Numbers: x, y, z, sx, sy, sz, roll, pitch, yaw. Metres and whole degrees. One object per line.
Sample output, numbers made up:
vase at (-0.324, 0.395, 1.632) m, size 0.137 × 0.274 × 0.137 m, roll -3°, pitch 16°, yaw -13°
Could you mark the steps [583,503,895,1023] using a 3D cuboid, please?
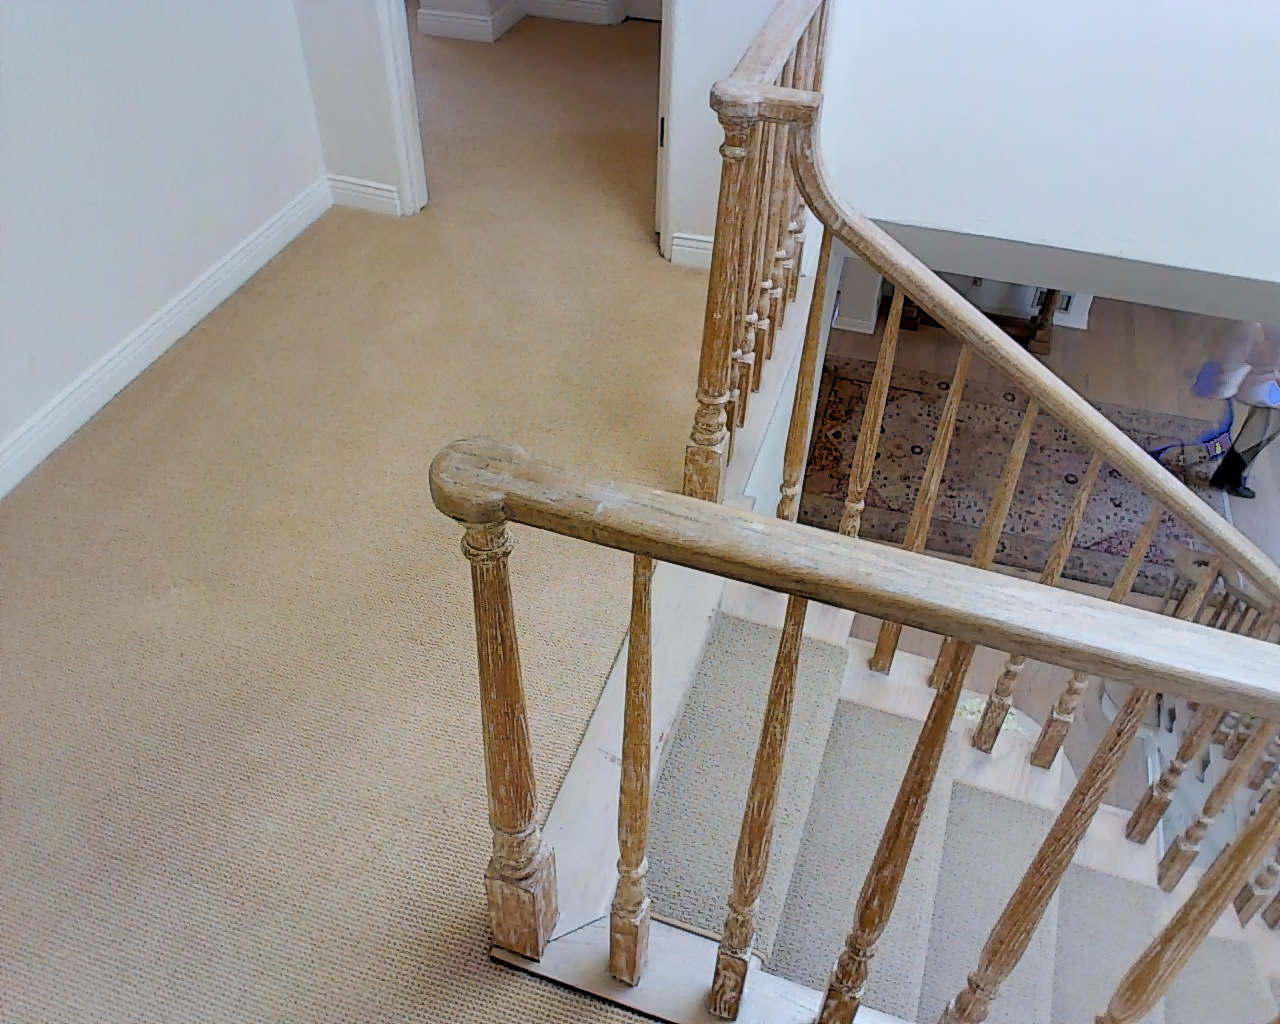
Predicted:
steps at (0.230, 0.420, 2.070) m, size 0.340 × 0.200 × 1.030 m, roll 13°, pitch 44°, yaw 13°
